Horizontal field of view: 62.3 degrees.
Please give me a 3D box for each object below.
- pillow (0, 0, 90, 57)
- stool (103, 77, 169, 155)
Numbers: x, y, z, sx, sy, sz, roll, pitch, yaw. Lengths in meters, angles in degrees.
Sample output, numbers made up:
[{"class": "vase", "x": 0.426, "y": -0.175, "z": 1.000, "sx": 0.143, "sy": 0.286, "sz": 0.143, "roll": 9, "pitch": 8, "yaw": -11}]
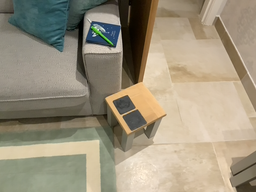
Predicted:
[{"class": "pillow", "x": -0.460, "y": -0.480, "z": 1.120, "sx": 0.410, "sy": 0.350, "sz": 0.130, "roll": 35, "pitch": 39, "yaw": -4}, {"class": "stool", "x": 0.030, "y": 0.130, "z": 1.320, "sx": 0.260, "sy": 0.330, "sz": 0.280, "roll": -25, "pitch": 62, "yaw": -20}]
